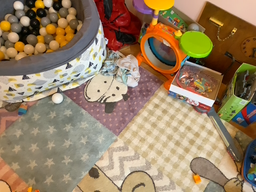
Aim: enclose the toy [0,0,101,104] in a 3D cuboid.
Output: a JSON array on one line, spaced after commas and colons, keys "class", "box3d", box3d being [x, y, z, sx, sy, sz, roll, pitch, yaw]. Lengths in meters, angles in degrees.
[{"class": "toy", "box3d": [-0.620, -0.400, 1.390, 0.800, 0.420, 0.760, -5, 63, -6]}]
